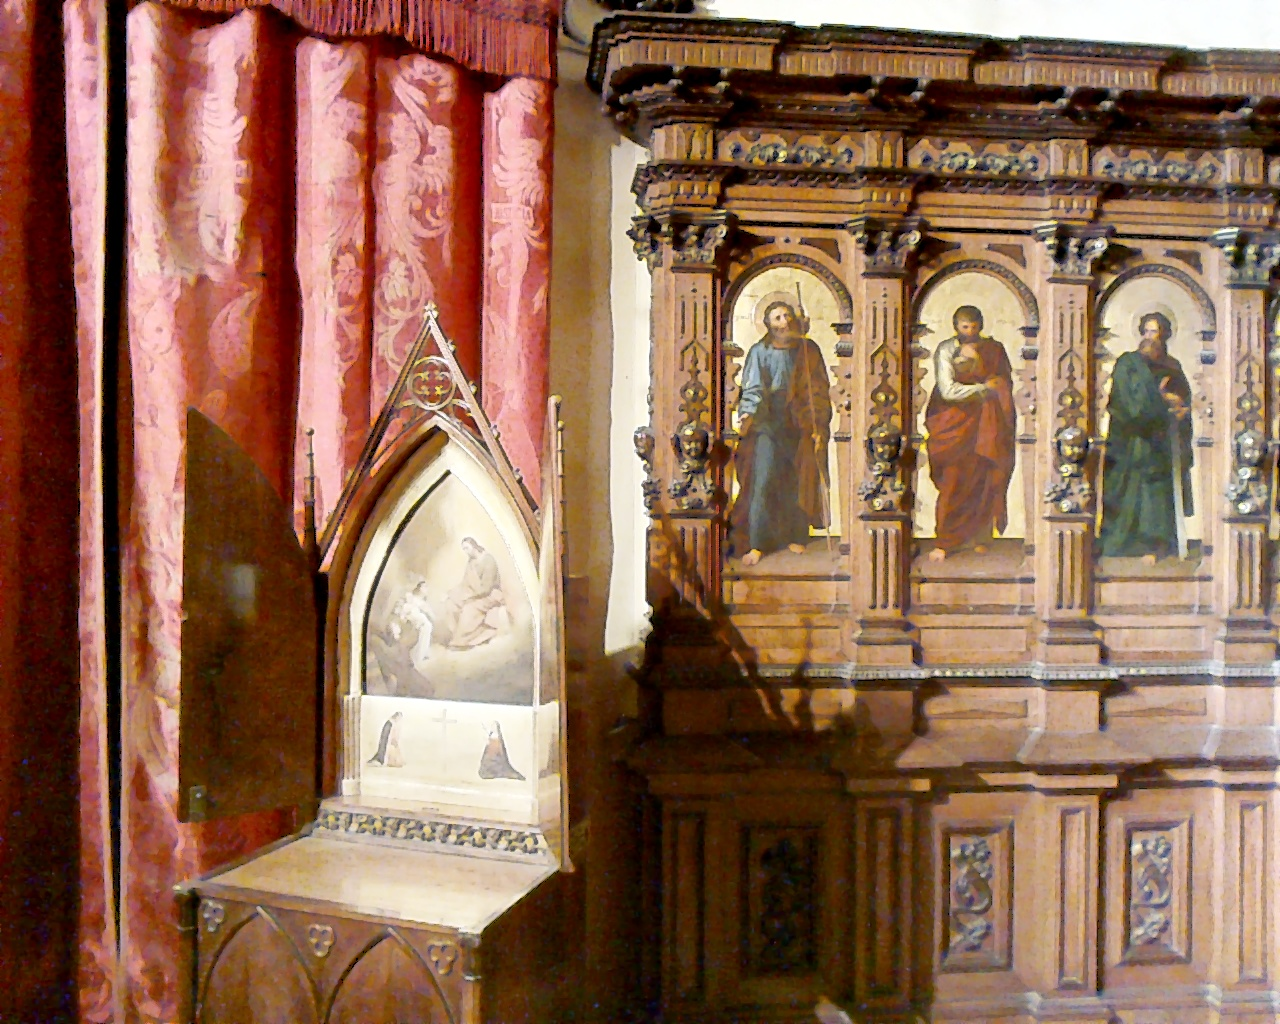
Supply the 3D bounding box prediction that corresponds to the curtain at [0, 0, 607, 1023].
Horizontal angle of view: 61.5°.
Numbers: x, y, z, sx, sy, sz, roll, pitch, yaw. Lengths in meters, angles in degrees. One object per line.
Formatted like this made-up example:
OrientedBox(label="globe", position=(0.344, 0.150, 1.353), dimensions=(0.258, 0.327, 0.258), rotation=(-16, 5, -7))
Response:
OrientedBox(label="curtain", position=(-0.920, 0.000, 2.170), dimensions=(1.780, 2.681, 0.210), rotation=(1, 0, -29))
